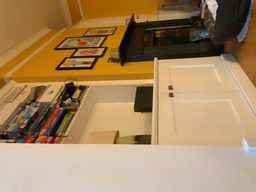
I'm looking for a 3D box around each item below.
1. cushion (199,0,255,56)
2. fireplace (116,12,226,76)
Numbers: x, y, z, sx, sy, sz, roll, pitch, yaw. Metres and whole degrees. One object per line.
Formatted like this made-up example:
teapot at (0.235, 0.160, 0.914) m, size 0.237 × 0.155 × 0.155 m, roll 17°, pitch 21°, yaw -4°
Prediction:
cushion at (0.860, -0.900, 1.970) m, size 0.630 × 0.230 × 0.810 m, roll 67°, pitch -157°, yaw -68°
fireplace at (0.570, -0.850, 3.150) m, size 1.610 × 1.230 × 0.310 m, roll -79°, pitch -15°, yaw -55°
